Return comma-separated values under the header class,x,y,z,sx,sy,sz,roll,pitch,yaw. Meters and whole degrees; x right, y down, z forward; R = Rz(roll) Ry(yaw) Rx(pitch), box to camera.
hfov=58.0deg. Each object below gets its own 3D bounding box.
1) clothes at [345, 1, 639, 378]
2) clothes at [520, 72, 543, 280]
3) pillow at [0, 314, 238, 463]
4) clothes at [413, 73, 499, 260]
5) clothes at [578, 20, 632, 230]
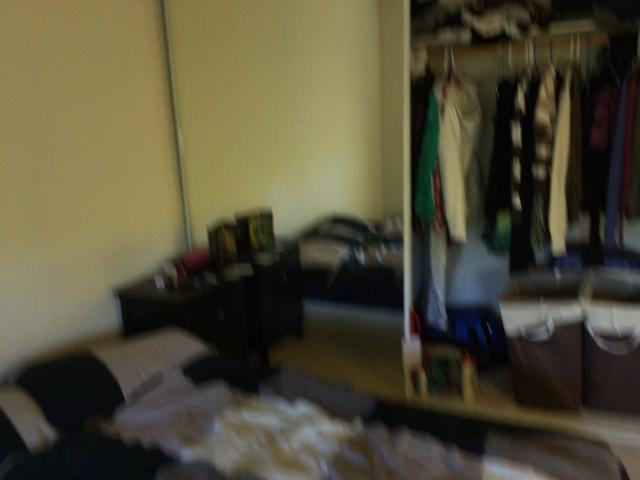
class,x,y,z,sx,sy,sz,roll,pitch,yaw
clothes,0.950,-0.240,2.790,1.390,1.480,0.700,2,13,27
clothes,0.970,-0.290,2.640,0.070,0.910,0.230,2,13,27
pillow,-0.710,0.500,2.160,0.400,0.160,0.810,1,13,26
clothes,0.700,-0.380,2.880,0.260,0.830,0.600,2,13,27
clothes,1.240,-0.490,2.520,0.180,0.820,0.410,2,13,27
